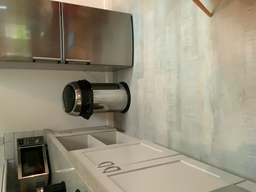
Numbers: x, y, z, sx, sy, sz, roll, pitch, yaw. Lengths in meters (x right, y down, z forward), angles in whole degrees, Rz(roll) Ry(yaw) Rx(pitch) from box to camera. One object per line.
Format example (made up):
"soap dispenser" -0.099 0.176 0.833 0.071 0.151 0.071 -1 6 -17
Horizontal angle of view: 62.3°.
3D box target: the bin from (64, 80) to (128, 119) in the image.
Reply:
"bin" -0.390 0.020 2.520 0.500 0.610 0.390 3 94 61
